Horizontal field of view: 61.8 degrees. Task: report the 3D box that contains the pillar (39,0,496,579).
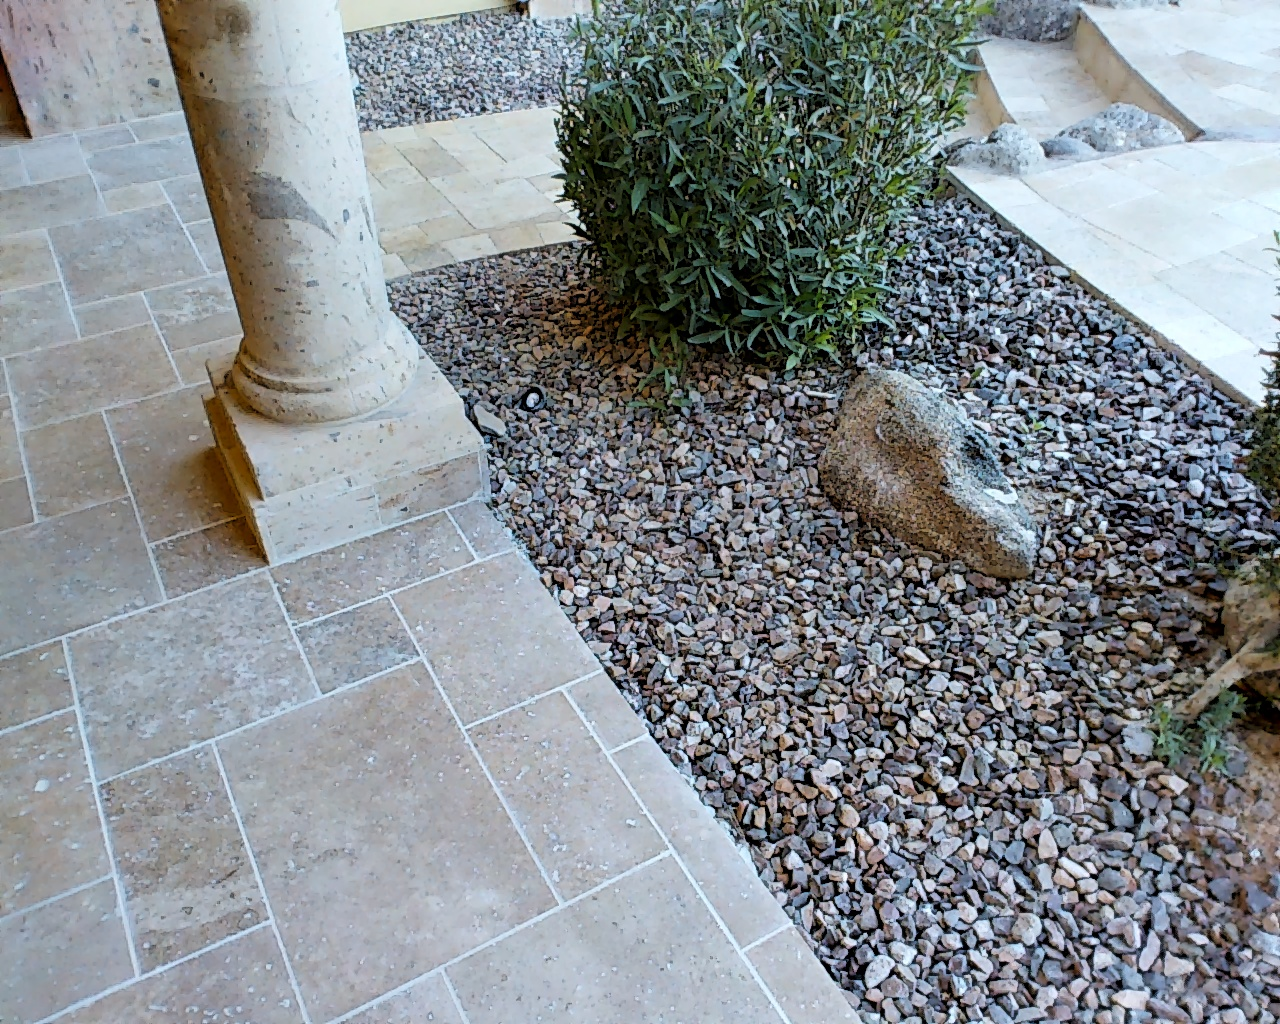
[{"bbox_3d":[-0.730,-0.940,1.840,0.550,2.089,0.680,-20,44,-22],"label":"pillar"}]
